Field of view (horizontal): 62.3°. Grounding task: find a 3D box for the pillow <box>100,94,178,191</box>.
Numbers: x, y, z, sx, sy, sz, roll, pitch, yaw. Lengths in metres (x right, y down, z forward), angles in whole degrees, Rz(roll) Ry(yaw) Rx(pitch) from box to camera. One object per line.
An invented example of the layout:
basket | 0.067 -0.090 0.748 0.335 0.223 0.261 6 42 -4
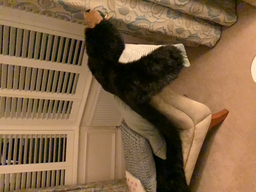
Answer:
pillow | 0.050 0.320 1.570 0.440 0.310 0.570 25 108 60
